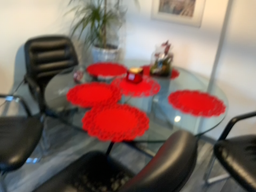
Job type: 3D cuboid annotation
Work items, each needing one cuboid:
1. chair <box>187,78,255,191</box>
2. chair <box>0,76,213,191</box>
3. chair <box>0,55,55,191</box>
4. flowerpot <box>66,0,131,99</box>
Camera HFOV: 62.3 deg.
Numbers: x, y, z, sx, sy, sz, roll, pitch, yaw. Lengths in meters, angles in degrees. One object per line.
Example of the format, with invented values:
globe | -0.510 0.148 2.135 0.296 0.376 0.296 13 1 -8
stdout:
chair | 0.930 0.420 1.400 0.660 0.920 0.590 -9 30 -24
chair | -0.120 0.510 1.030 0.670 0.950 0.580 20 31 28
chair | -0.940 0.270 1.390 0.660 0.950 0.570 3 27 -1
flowerpot | -0.310 -0.710 2.290 0.520 1.350 0.400 18 30 25
